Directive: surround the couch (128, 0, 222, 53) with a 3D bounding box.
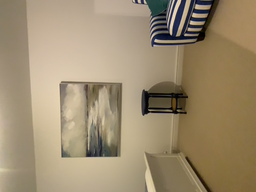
[{"bbox_3d":[0.460,-1.180,2.480,0.900,0.840,0.930,98,173,-56],"label":"couch"}]

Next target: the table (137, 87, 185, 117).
[{"bbox_3d":[0.480,0.080,3.210,0.370,0.630,0.380,-112,24,-80],"label":"table"}]
